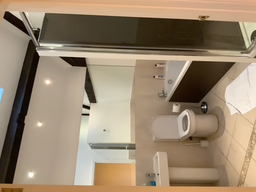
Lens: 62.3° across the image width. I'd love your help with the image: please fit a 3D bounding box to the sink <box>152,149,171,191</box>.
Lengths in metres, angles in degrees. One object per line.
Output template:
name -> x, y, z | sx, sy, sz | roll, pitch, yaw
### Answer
sink -> 0.450, 1.040, 2.920 | 0.440, 0.140, 0.510 | 99, 172, -64
